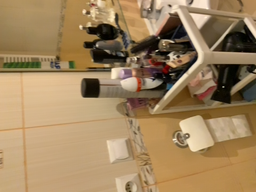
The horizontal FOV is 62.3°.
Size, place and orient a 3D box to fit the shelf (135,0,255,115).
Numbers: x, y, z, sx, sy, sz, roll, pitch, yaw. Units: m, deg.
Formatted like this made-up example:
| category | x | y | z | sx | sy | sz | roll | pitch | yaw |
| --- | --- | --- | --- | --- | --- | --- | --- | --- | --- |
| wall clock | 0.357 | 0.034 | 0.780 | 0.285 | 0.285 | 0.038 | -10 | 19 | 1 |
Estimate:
| category | x | y | z | sx | sy | sz | roll | pitch | yaw |
| --- | --- | --- | --- | --- | --- | --- | --- | --- | --- |
| shelf | 0.570 | -0.140 | 0.950 | 0.370 | 0.990 | 0.230 | 124 | 137 | -53 |
